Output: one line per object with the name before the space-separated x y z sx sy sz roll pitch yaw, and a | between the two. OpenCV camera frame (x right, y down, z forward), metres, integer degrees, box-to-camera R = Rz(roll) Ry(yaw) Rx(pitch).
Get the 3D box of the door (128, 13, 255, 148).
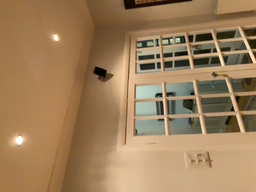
door | 0.990 -0.290 2.490 0.190 1.920 1.760 76 -166 -53
